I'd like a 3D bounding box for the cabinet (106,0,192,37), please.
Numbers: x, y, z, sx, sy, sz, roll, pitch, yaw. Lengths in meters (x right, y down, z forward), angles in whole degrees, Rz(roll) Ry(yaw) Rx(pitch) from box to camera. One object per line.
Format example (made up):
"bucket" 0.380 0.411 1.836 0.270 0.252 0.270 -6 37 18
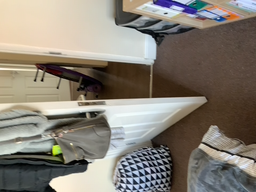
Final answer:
"cabinet" 0.180 -0.770 1.750 0.380 0.600 0.410 6 96 54

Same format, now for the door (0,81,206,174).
"door" -0.490 0.250 1.420 1.000 2.020 0.150 -46 55 45
